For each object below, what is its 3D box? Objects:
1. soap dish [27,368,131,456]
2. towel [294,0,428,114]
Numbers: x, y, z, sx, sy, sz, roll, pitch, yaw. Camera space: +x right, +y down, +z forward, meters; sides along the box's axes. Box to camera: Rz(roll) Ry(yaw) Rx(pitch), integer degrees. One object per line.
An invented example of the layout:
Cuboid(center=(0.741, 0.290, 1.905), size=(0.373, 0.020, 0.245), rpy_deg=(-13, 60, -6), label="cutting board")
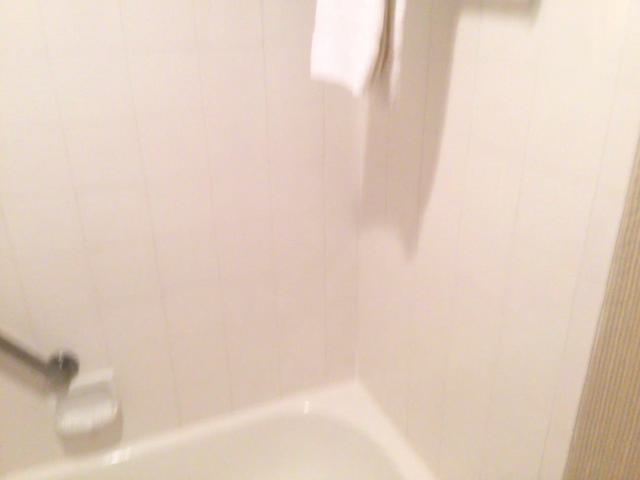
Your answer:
Cuboid(center=(-0.600, 0.430, 1.450), size=(0.210, 0.160, 0.060), rpy_deg=(-12, 30, -21), label="soap dish")
Cuboid(center=(0.060, -0.430, 0.950), size=(0.130, 0.380, 0.230), rpy_deg=(-12, 30, -21), label="towel")
